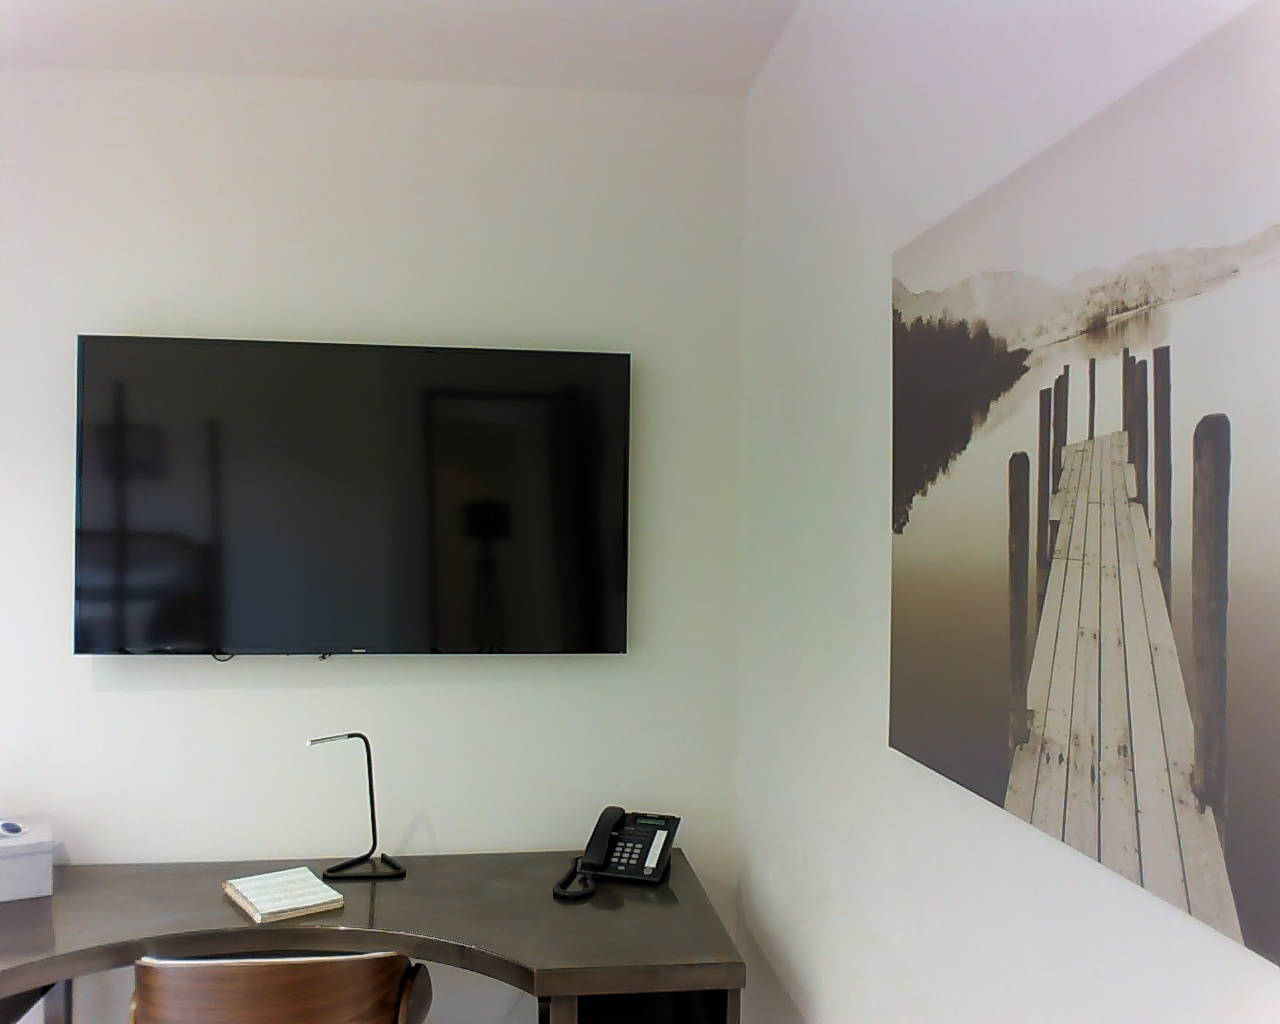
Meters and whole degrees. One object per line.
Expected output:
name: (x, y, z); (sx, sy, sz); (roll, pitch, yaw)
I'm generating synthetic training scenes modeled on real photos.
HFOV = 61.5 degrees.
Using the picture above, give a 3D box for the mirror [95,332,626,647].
mirror: (-0.690, -0.050, 2.750); (1.300, 0.770, 0.090); (0, 0, -6)

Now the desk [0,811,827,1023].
desk: (-0.730, 1.230, 2.310); (2.060, 0.890, 0.880); (0, 0, -6)
